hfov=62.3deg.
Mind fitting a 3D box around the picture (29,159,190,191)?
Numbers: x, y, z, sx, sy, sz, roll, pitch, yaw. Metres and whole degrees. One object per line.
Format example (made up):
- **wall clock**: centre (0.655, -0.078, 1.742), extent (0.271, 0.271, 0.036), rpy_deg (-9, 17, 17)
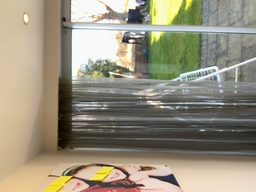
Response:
- **picture**: centre (-0.080, 0.460, 1.080), extent (0.810, 0.750, 0.020), rpy_deg (178, 94, -89)
